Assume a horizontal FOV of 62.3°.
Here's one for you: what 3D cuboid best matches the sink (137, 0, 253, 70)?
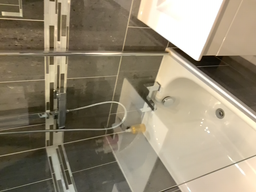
[{"bbox_3d":[0.270,-0.490,0.800,0.460,0.130,0.630,54,140,42],"label":"sink"}]
